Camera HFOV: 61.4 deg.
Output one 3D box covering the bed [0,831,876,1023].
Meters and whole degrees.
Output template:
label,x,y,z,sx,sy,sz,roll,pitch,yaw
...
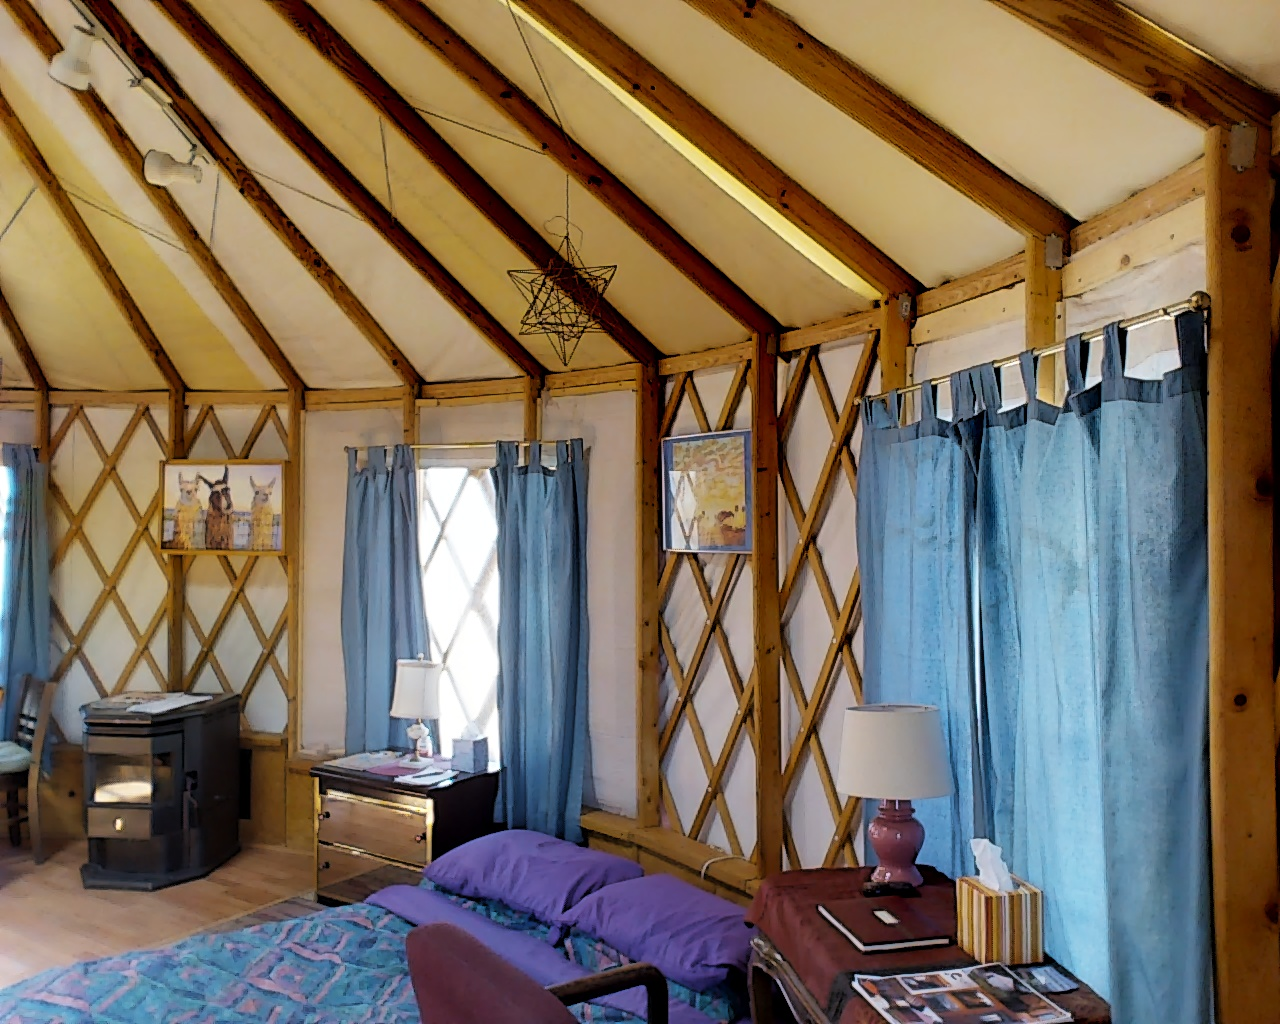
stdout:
label,x,y,z,sx,sy,sz,roll,pitch,yaw
bed,-0.750,1.400,2.910,2.070,0.290,1.840,1,-1,-41
